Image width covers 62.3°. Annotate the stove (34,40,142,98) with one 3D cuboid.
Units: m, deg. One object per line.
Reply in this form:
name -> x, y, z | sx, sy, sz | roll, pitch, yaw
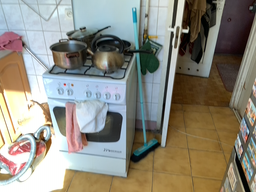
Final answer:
stove -> -0.210, -0.220, 1.430 | 0.530, 0.120, 0.600 | 6, 31, 9
